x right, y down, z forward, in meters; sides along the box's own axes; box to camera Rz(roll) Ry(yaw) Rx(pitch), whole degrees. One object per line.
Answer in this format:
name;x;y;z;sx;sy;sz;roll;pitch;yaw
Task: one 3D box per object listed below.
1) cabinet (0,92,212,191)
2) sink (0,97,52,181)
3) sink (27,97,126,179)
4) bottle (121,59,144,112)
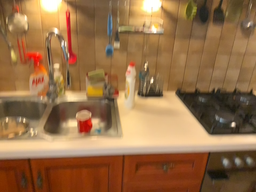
cabinet;-0.280;0.480;1.310;1.200;0.840;0.600;0;24;-8
sink;-0.650;0.190;1.100;0.390;0.190;0.480;0;24;-8
sink;-0.250;0.190;1.160;0.410;0.190;0.480;0;24;-8
bottle;0.020;-0.070;1.280;0.080;0.240;0.260;0;24;-9
